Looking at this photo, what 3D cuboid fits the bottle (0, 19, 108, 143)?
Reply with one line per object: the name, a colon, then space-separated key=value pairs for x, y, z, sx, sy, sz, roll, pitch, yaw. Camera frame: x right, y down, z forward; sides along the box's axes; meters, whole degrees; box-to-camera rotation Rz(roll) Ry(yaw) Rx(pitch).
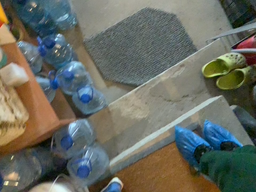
bottle: x=-0.360 y=-0.060 z=1.150 sx=0.280 sy=0.390 sz=0.490 roll=-28 pitch=87 yaw=-4
